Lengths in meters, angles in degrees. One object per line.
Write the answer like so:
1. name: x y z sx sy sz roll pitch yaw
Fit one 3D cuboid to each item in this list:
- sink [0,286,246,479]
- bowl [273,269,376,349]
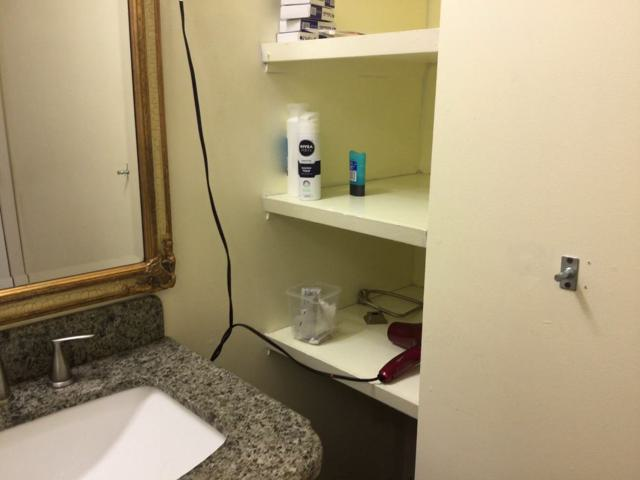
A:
1. sink: -0.430 0.320 0.910 0.380 0.320 0.490 15 19 43
2. bowl: 0.010 0.170 1.490 0.180 0.120 0.190 15 19 43
